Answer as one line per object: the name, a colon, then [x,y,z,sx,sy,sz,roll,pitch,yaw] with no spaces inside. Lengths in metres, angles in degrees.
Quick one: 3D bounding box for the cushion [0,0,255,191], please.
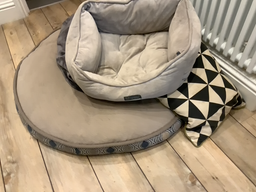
cushion: [-0.180,-0.260,1.130,1.050,0.430,1.200,-23,52,-16]
